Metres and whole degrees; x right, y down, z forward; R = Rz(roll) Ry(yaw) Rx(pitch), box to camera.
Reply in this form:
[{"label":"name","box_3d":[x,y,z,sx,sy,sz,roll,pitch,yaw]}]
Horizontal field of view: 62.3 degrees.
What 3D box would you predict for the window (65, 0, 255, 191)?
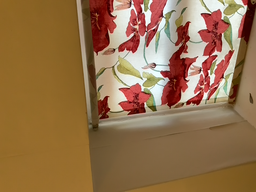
[{"label":"window","box_3d":[0.170,-0.270,0.720,0.360,0.720,1.110,-128,34,-63]}]
